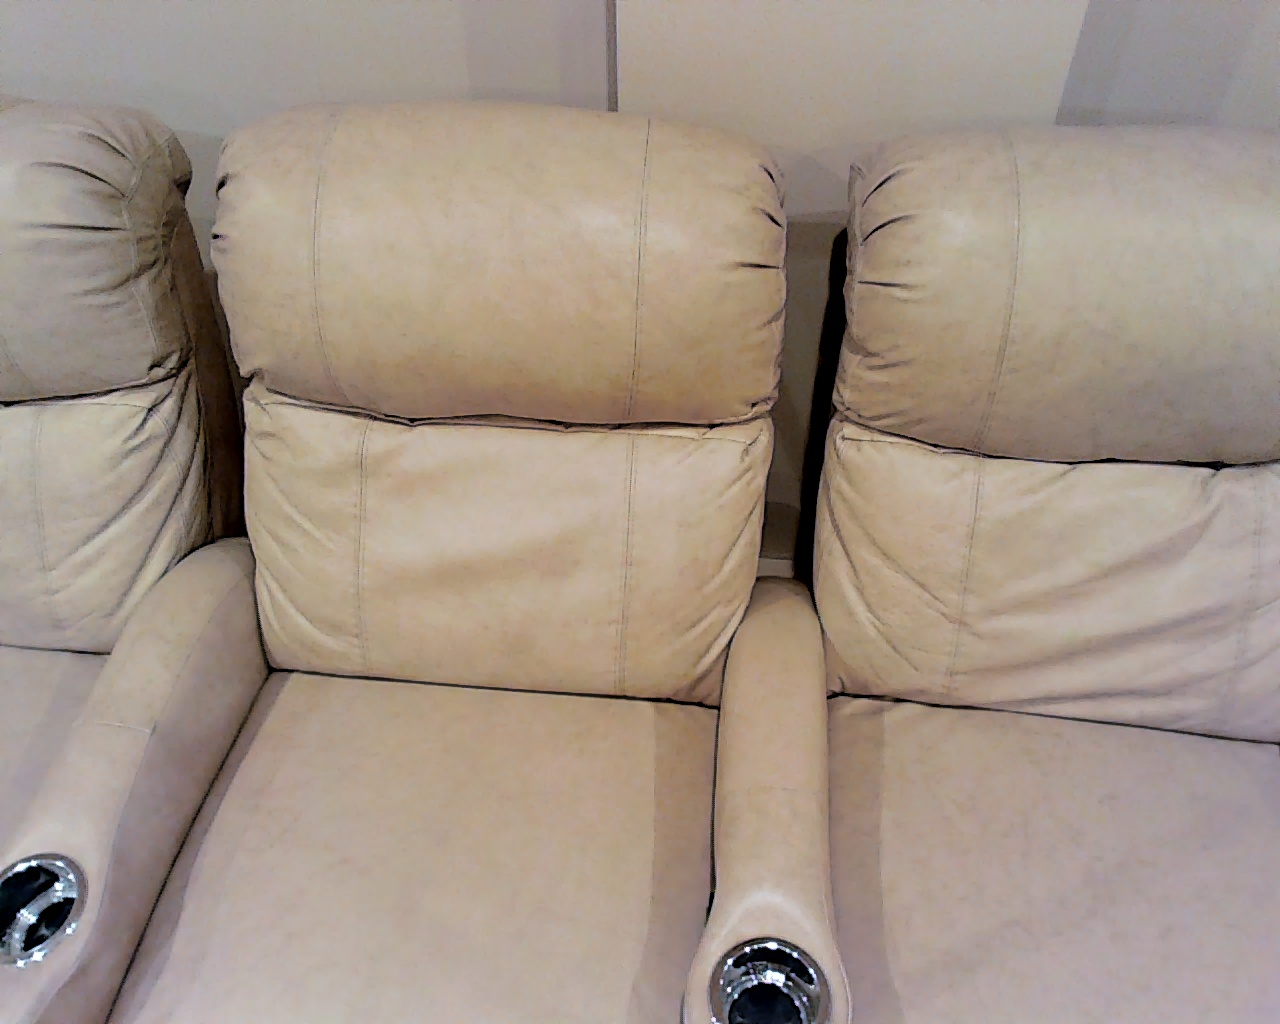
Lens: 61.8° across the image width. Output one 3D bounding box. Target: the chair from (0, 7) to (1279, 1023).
[{"bbox_3d":[0.160,0.240,1.190,2.941,1.050,1.080,4,48,5],"label":"chair"}]
